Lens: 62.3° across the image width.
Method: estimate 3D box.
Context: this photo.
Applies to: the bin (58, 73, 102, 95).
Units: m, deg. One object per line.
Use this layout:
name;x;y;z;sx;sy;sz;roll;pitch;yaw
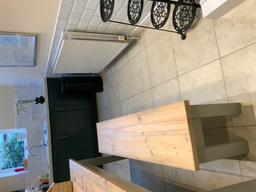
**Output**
bin;-0.840;-0.210;3.690;0.280;0.680;0.290;151;114;-62
